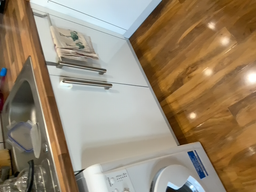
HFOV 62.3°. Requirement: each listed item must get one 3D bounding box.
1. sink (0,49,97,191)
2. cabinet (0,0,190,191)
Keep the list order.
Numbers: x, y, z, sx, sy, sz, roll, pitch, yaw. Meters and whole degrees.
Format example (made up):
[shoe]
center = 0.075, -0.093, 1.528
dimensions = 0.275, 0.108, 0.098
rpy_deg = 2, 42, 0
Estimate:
[sink]
center = -0.470, 0.170, 1.110
dimensions = 0.530, 0.190, 0.590
rpy_deg = -41, 61, 35
[cabinet]
center = -0.260, 0.050, 1.420
dimensions = 0.590, 0.920, 0.910
rpy_deg = -41, 61, 35
